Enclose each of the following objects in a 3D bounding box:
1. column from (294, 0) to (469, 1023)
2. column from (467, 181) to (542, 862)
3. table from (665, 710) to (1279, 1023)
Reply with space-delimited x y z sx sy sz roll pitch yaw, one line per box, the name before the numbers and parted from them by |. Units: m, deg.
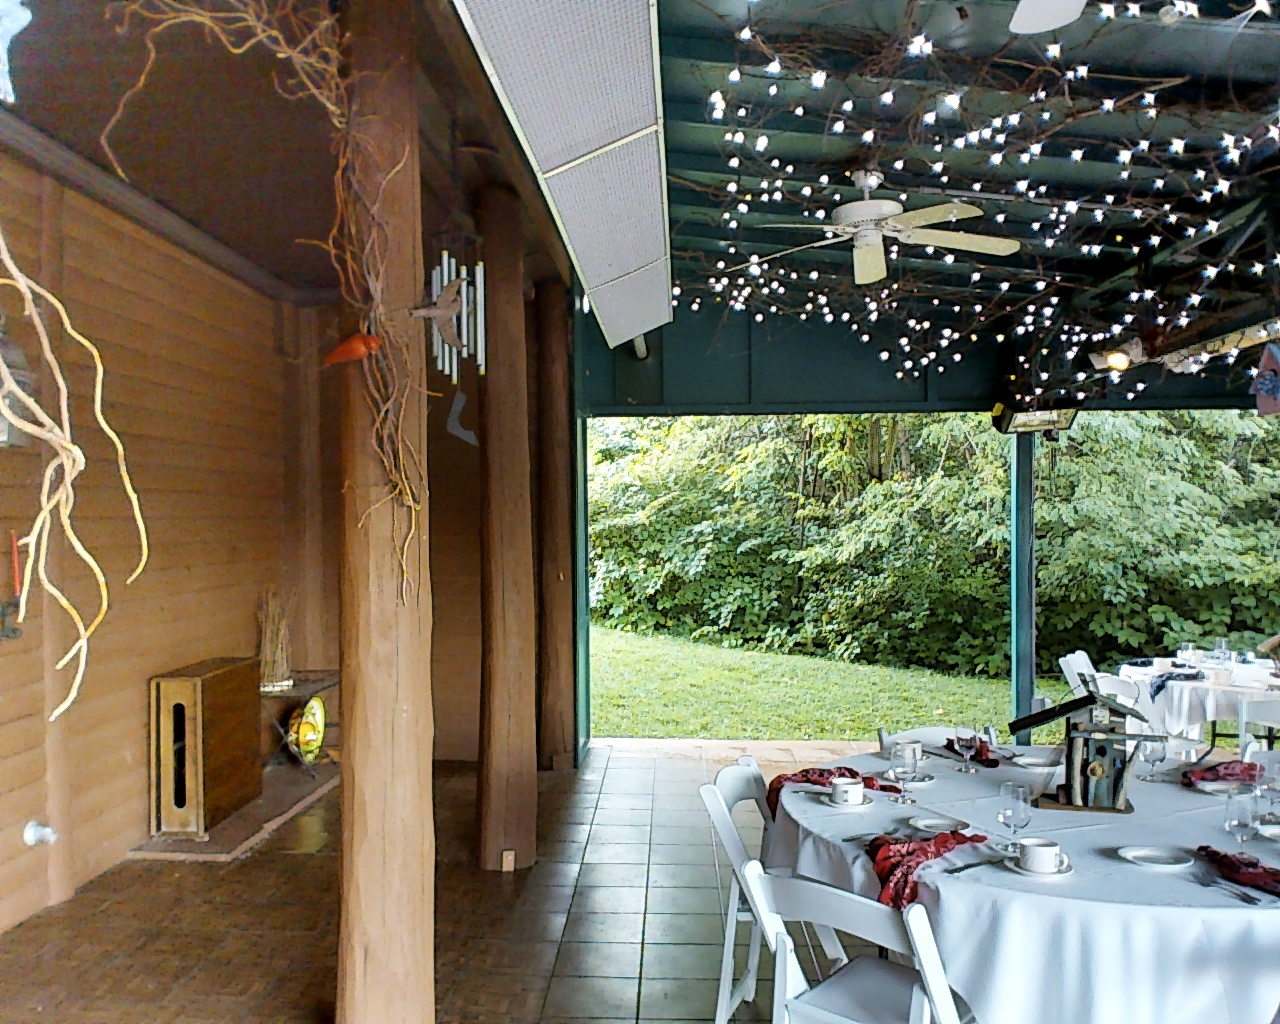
column | -0.730 0.030 3.030 0.340 3.021 0.360 0 -1 -42
column | -0.620 0.040 4.980 0.320 3.031 0.340 0 -1 -5
table | 1.250 1.160 3.010 1.840 0.810 1.760 0 -1 -20
